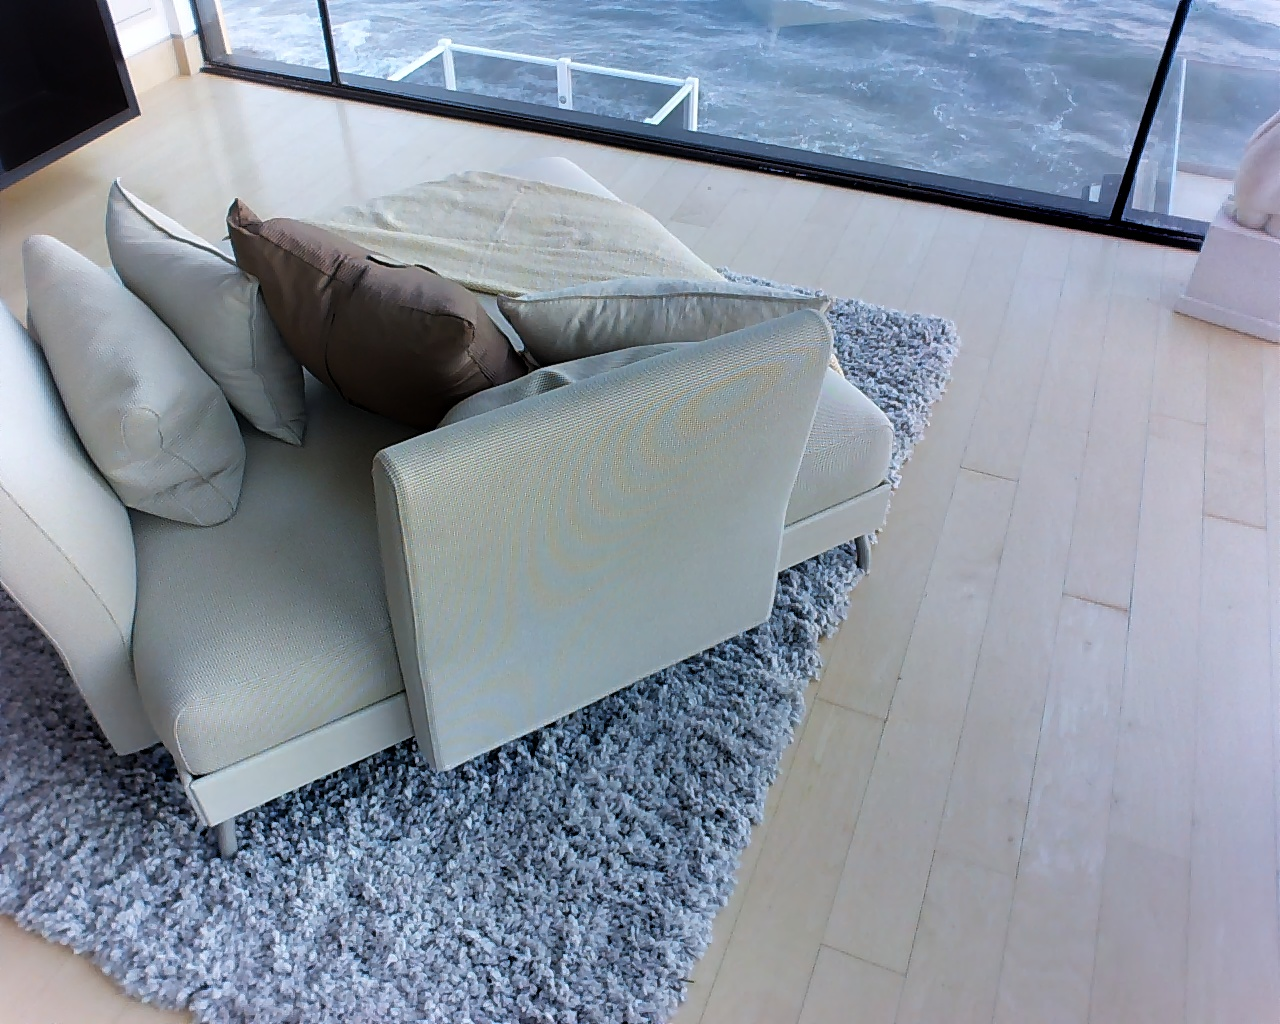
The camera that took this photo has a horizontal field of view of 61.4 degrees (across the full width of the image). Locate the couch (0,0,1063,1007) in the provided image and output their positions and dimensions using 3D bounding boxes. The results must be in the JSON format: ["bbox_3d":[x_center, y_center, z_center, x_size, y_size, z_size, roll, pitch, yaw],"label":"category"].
[{"bbox_3d":[-0.420,-0.280,2.030,1.540,0.770,1.490,-22,47,-23],"label":"couch"}]

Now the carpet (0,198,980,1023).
[{"bbox_3d":[-0.310,-0.020,2.330,1.600,0.060,2.280,18,45,18],"label":"carpet"}]
